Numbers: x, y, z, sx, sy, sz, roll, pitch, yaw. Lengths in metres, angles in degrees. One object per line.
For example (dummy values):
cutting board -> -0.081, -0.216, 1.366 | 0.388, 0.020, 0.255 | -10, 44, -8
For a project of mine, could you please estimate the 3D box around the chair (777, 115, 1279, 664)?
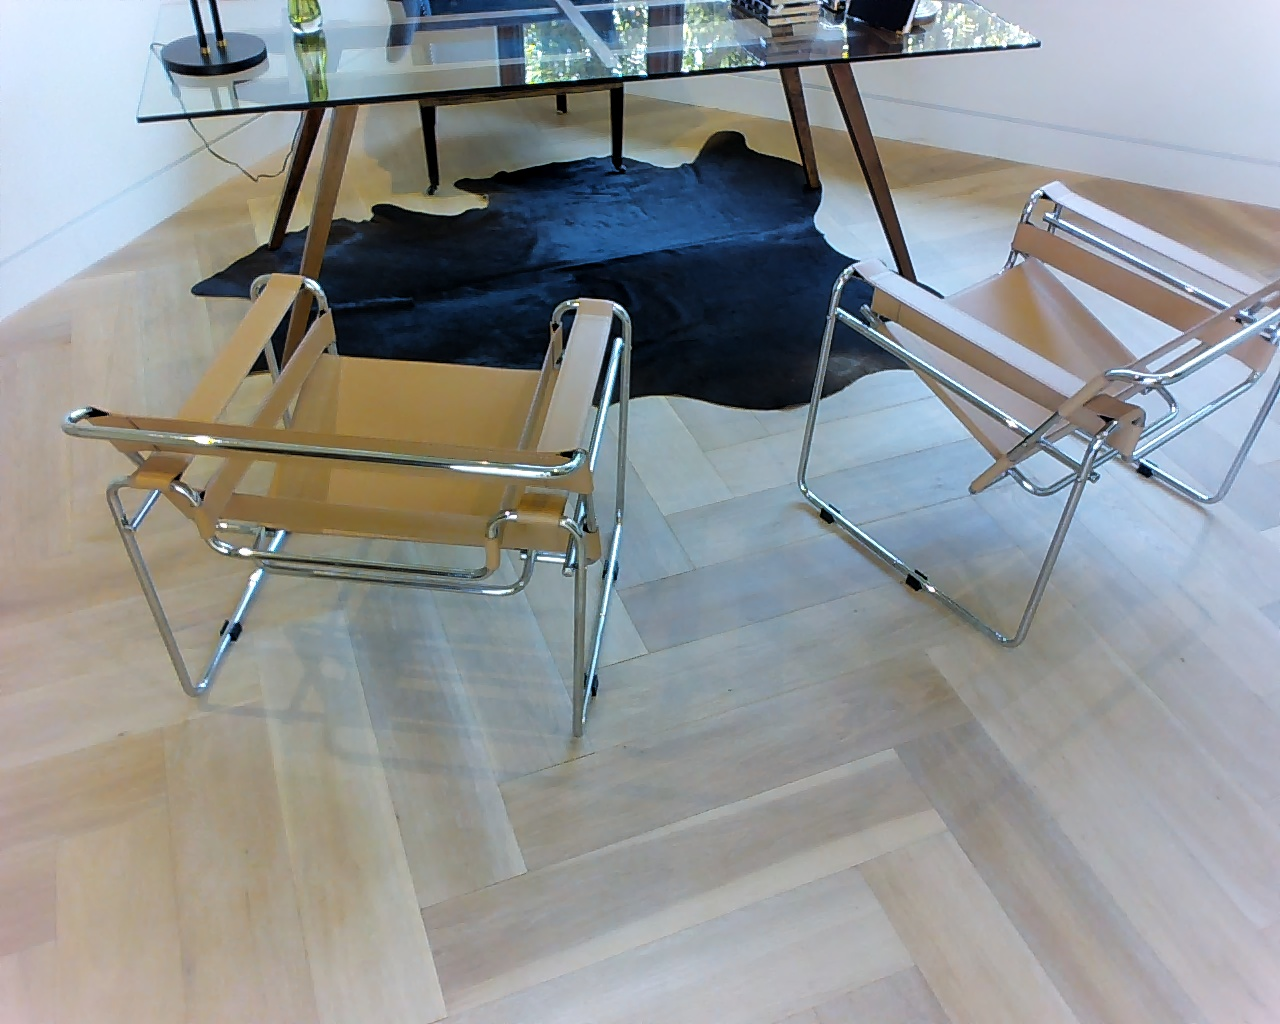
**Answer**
chair -> 0.880, -0.310, 2.330 | 0.800, 0.700, 0.740 | -26, 48, -27

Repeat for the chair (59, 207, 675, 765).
chair -> -0.400, -0.070, 2.040 | 0.840, 0.680, 0.730 | 5, 42, 5

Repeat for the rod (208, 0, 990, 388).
rod -> -0.150, -1.060, 3.120 | 1.940, 0.730, 0.880 | -11, 43, -13
